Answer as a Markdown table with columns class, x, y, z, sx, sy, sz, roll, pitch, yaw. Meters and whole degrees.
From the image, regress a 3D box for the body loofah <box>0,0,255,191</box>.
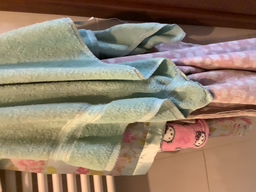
| class | x | y | z | sx | sy | sz | roll | pitch | yaw |
| --- | --- | --- | --- | --- | --- | --- | --- | --- | --- |
| body loofah | 0.020 | -0.040 | 0.580 | 0.200 | 1.410 | 0.420 | 167 | 98 | -67 |
